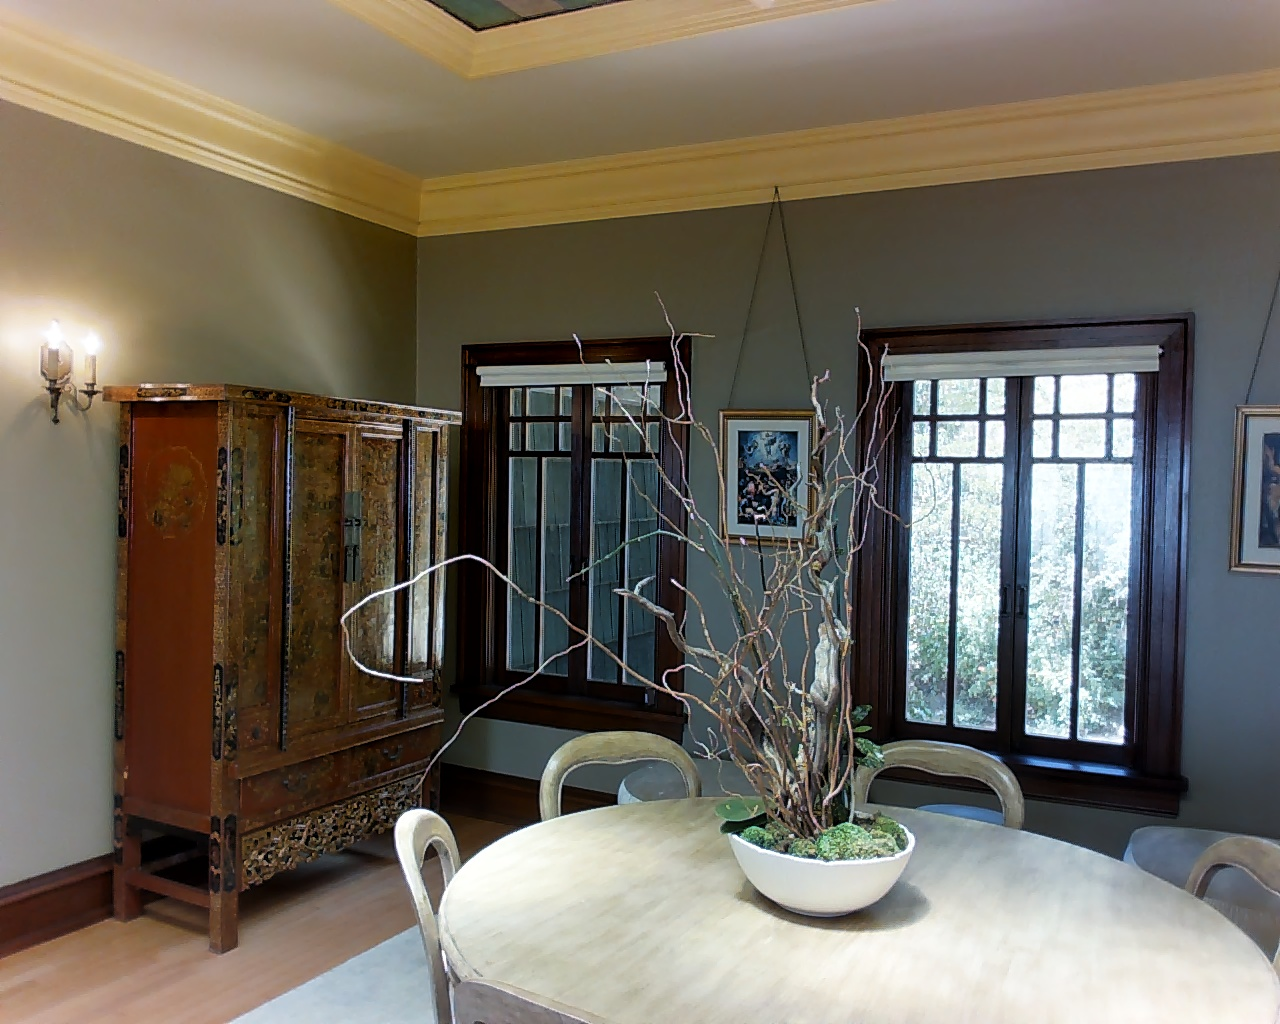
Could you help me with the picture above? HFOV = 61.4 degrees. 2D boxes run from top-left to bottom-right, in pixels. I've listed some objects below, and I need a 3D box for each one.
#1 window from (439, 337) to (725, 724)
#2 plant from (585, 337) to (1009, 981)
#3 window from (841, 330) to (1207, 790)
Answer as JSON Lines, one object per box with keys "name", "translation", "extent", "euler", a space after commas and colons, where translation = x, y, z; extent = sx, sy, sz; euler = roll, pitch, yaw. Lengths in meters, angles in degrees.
{"name": "window", "translation": [-0.300, 0.060, 4.960], "extent": [1.370, 1.640, 0.180], "euler": [2, 1, 27]}
{"name": "plant", "translation": [0.260, 0.230, 1.980], "extent": [0.600, 1.000, 0.470], "euler": [1, 1, -17]}
{"name": "window", "translation": [1.430, 0.150, 4.110], "extent": [1.250, 1.590, 0.220], "euler": [2, 1, 27]}
